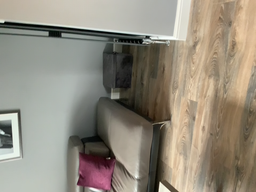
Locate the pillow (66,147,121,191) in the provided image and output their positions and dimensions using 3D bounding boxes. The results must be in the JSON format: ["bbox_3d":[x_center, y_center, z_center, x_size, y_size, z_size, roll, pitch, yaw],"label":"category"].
[{"bbox_3d":[-0.370,0.840,2.310,0.450,0.400,0.150,-58,35,0],"label":"pillow"}]
